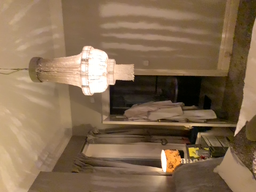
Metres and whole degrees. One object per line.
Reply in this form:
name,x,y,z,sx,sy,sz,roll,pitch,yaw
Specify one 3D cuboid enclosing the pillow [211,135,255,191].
pillow,0.980,0.700,1.960,0.130,0.370,0.740,5,16,2
